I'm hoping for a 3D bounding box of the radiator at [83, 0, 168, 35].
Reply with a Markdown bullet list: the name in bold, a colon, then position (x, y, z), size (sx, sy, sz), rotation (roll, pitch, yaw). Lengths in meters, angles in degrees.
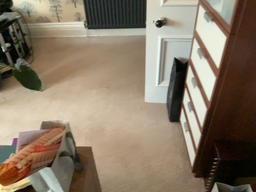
- **radiator**: position (-0.030, -1.270, 3.010), size (1.160, 0.770, 0.150), rotation (2, 40, 5)
